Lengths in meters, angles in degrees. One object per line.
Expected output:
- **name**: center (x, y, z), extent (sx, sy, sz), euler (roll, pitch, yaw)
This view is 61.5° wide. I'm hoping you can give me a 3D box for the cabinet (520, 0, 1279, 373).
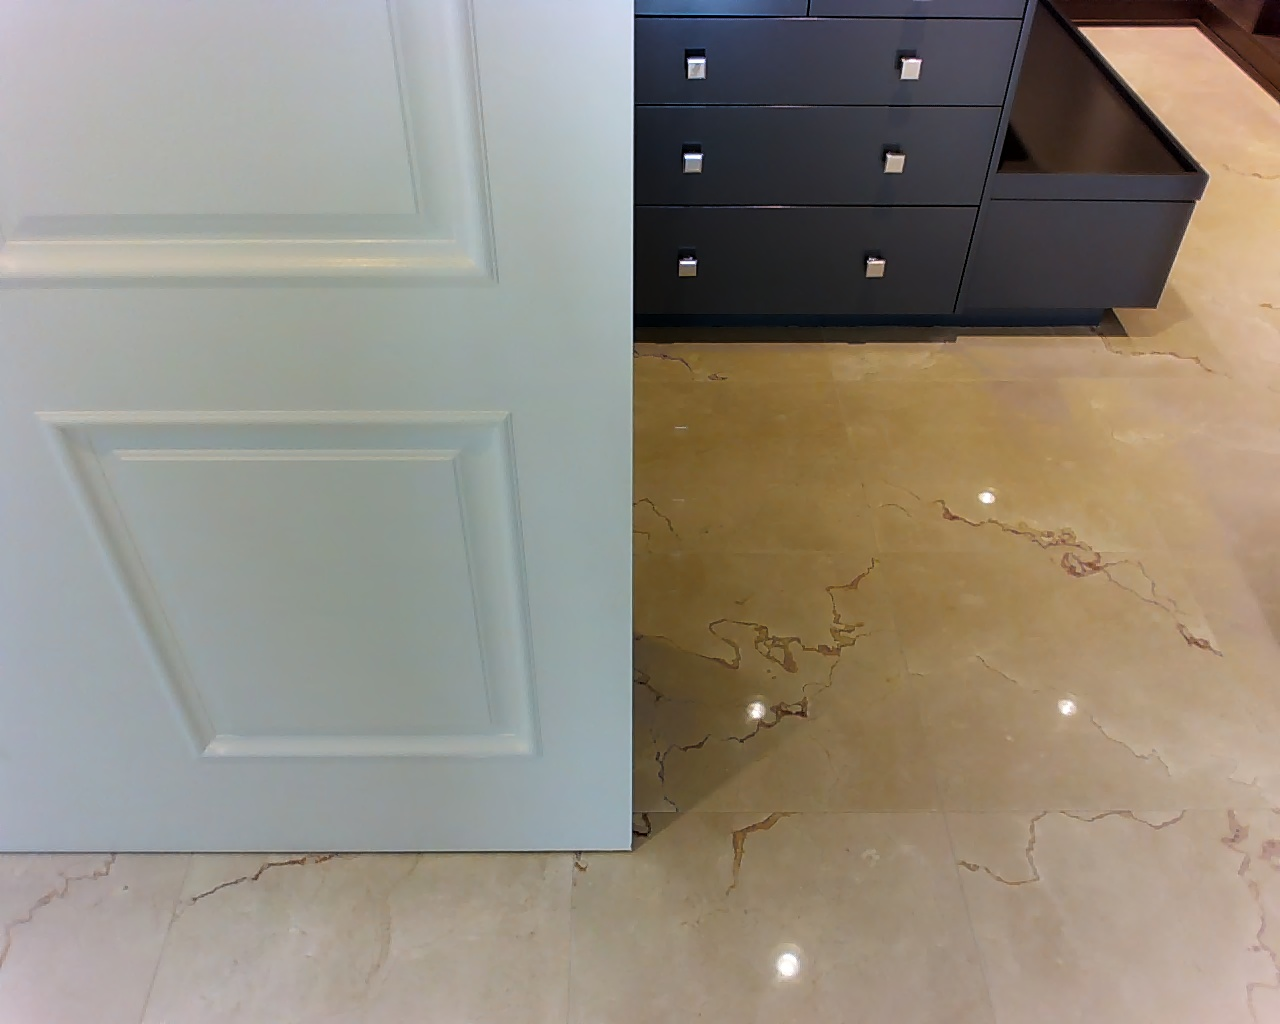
- **cabinet**: center (0.560, -1.350, 3.030), extent (1.600, 1.070, 1.780), euler (0, 42, 0)
